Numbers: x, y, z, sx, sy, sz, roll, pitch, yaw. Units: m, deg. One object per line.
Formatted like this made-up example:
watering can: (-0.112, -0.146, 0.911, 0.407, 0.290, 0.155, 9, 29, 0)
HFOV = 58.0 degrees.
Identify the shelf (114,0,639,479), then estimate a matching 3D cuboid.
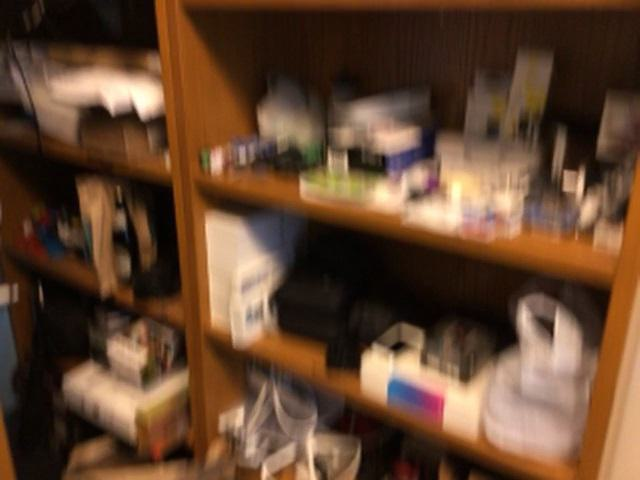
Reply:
shelf: (0.140, -0.110, 1.070, 0.950, 2.150, 0.480, 16, 24, 32)
